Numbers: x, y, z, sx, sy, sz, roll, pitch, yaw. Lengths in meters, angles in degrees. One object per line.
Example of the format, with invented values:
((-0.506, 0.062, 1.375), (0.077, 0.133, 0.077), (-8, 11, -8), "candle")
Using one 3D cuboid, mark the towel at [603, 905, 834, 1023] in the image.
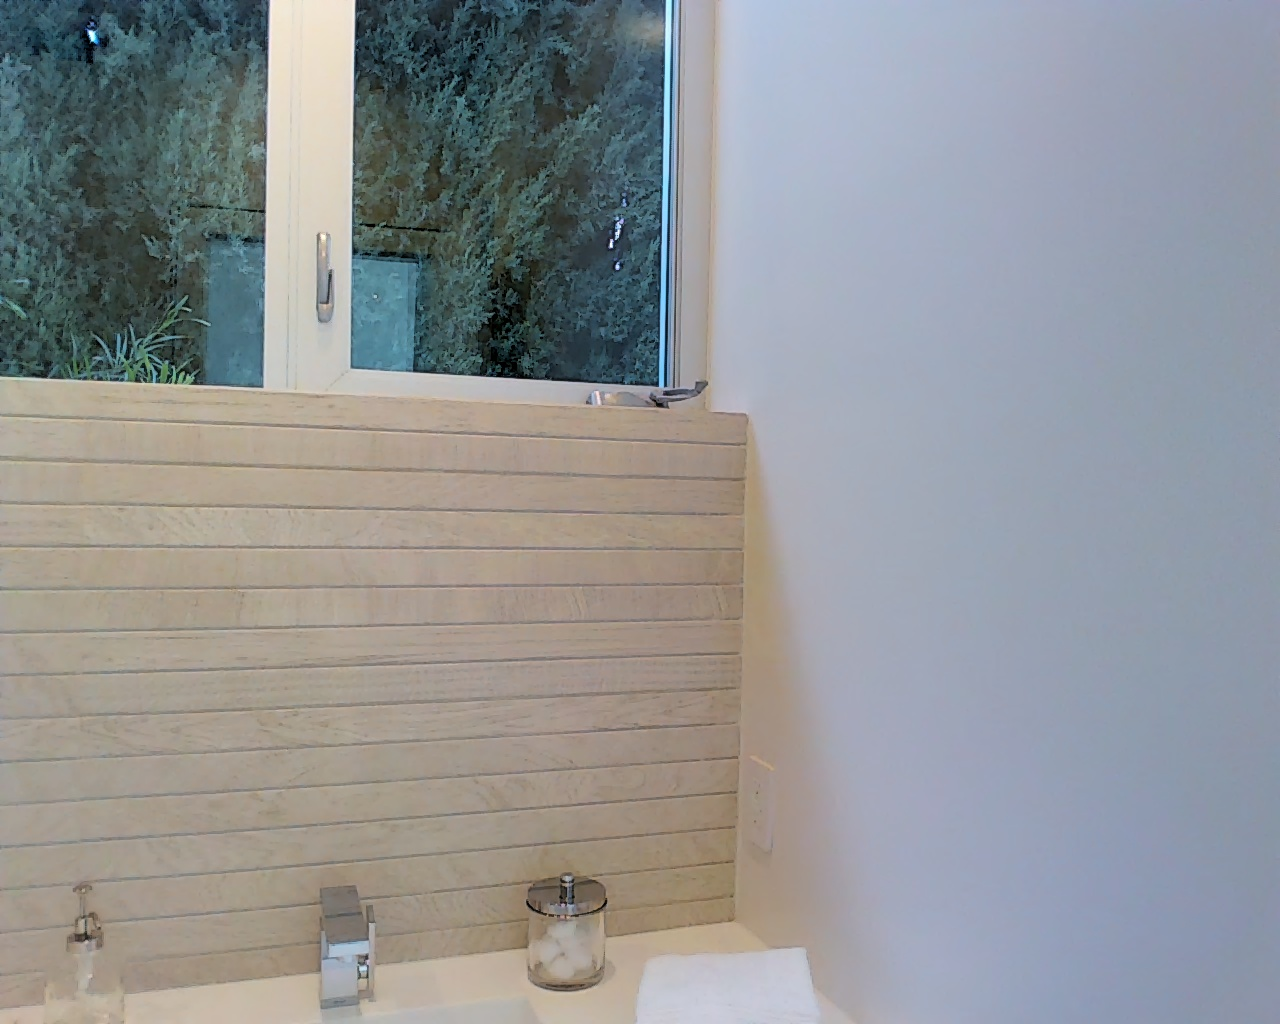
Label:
((0.090, 0.580, 1.270), (0.240, 0.100, 0.330), (1, 1, 3), "towel")
